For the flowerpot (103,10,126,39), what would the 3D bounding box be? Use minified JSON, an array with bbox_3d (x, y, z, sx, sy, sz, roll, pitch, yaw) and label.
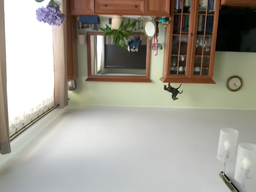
[{"bbox_3d":[-0.220,-1.130,3.380,0.350,0.390,0.250,1,-168,-4],"label":"flowerpot"}]
